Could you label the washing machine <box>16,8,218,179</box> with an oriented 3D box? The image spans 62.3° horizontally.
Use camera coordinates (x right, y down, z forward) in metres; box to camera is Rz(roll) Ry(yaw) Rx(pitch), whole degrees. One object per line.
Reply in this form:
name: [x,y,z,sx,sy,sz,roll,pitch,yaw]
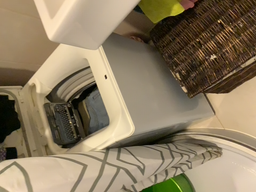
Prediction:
washing machine: [0.010,0.020,1.050,0.460,0.830,0.420,-33,70,34]
